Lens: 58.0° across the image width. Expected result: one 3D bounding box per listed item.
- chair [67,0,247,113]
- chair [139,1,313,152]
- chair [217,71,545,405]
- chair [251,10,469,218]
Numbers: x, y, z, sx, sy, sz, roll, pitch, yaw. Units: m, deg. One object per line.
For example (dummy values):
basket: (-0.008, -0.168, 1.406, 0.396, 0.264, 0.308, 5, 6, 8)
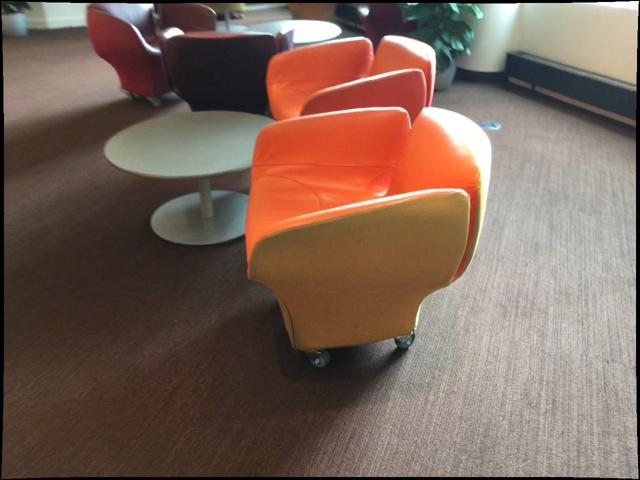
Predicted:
chair: (-1.327, -1.664, 4.870, 0.889, 0.751, 1.050, 21, 37, 30)
chair: (-0.559, -1.163, 3.990, 0.978, 0.771, 0.971, 1, 31, 2)
chair: (0.110, -0.080, 2.140, 0.888, 0.801, 0.961, -4, 31, -7)
chair: (0.160, -0.752, 3.210, 0.858, 0.801, 0.920, -10, 32, -16)
